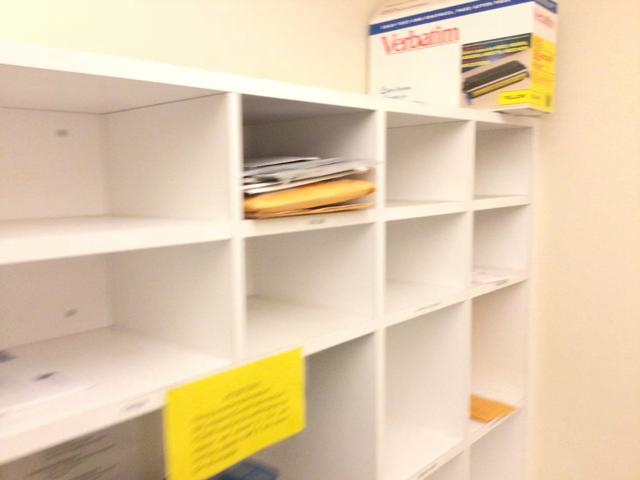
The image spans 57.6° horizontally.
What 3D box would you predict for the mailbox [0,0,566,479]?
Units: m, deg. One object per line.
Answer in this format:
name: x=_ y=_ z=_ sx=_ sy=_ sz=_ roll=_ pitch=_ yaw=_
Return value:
mailbox: x=-0.400 y=0.300 z=0.620 sx=0.520 sy=1.060 sz=2.340 roll=3 pitch=9 yaw=41
